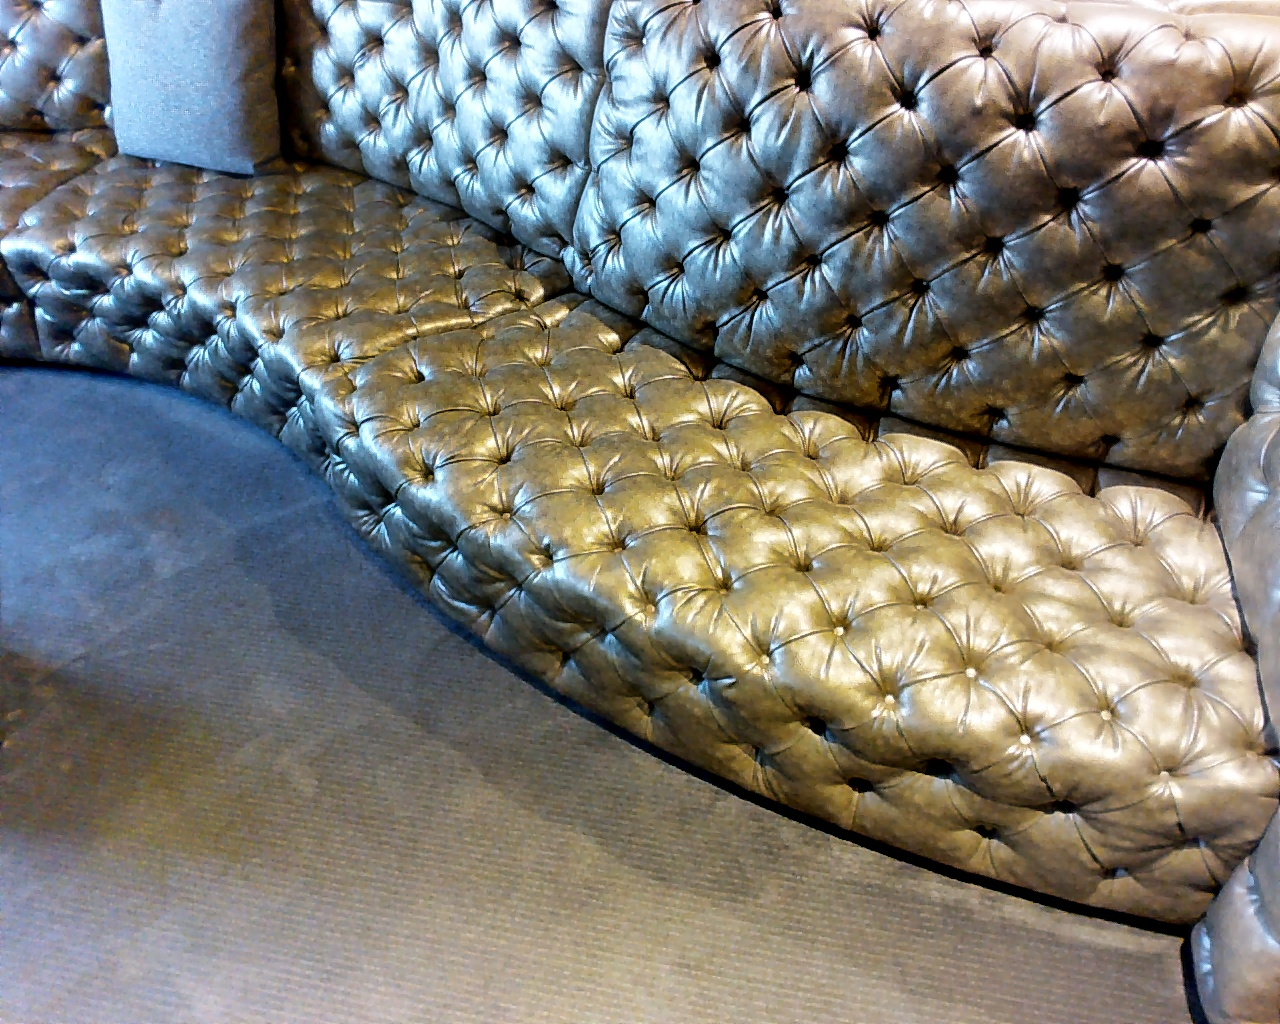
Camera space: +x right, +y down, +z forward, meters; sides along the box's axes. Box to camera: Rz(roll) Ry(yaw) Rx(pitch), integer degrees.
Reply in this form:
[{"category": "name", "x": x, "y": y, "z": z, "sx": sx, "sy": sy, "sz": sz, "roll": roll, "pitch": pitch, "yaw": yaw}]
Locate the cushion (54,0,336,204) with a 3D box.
[{"category": "cushion", "x": -1.080, "y": -1.080, "z": 2.630, "sx": 0.520, "sy": 0.530, "sz": 0.270, "roll": 10, "pitch": 32, "yaw": 15}]
